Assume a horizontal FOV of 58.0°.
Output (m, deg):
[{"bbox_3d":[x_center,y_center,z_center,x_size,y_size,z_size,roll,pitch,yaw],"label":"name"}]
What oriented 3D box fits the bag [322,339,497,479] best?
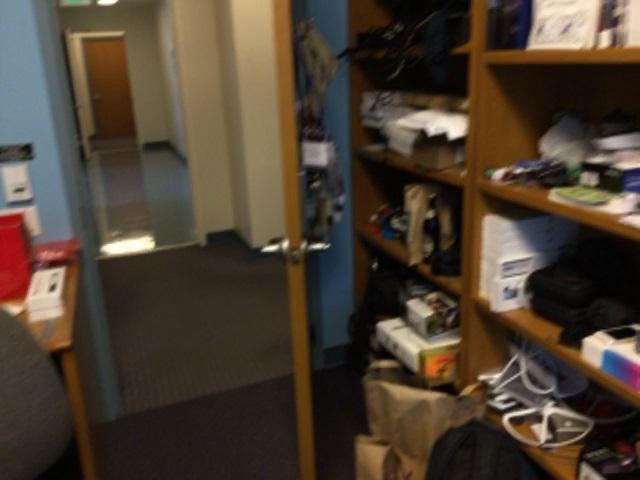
[{"bbox_3d":[0.270,0.640,1.860,0.420,0.470,0.360,-7,16,-19],"label":"bag"}]
